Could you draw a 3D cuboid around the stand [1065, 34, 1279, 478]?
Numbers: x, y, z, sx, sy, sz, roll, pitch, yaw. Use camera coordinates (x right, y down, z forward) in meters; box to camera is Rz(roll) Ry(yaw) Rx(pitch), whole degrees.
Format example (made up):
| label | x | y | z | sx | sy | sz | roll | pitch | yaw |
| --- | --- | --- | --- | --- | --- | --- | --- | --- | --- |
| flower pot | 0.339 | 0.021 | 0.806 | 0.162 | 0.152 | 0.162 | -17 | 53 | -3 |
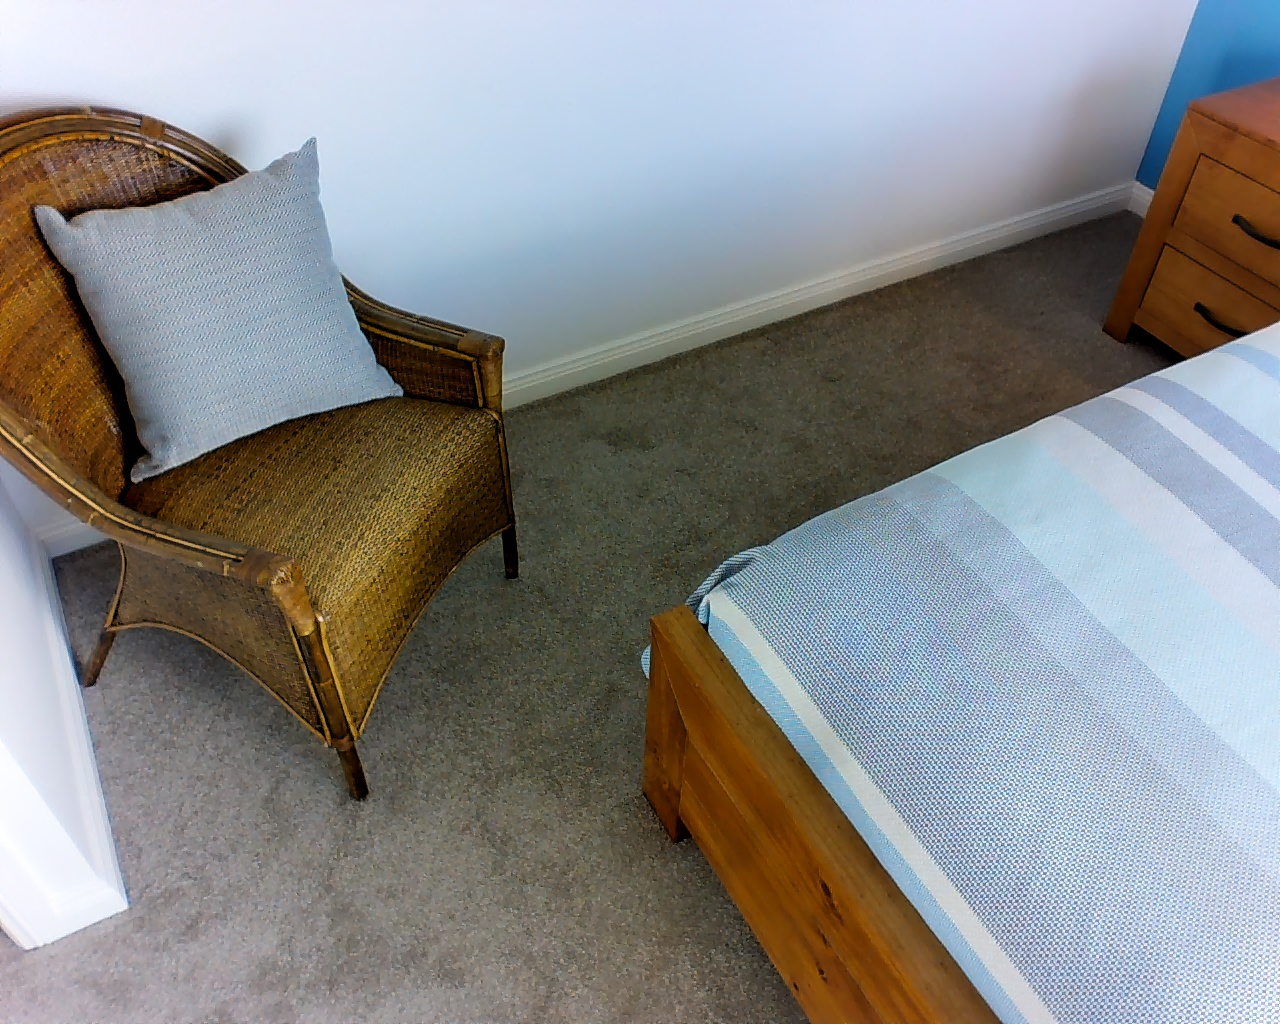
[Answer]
| label | x | y | z | sx | sy | sz | roll | pitch | yaw |
| --- | --- | --- | --- | --- | --- | --- | --- | --- | --- |
| stand | 1.470 | -0.590 | 2.380 | 0.520 | 0.660 | 0.650 | -21 | 49 | -21 |
